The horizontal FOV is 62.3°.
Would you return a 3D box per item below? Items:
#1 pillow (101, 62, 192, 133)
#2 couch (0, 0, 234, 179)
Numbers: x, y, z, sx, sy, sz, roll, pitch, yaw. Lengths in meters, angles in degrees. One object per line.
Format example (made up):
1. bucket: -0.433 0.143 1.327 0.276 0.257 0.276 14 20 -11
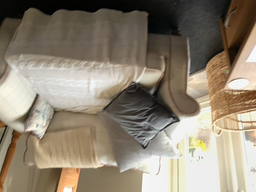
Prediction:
1. pillow: 0.100 0.040 1.250 0.360 0.200 0.380 21 150 -25
2. couch: -0.220 0.010 1.570 1.350 0.900 1.110 5 152 1
